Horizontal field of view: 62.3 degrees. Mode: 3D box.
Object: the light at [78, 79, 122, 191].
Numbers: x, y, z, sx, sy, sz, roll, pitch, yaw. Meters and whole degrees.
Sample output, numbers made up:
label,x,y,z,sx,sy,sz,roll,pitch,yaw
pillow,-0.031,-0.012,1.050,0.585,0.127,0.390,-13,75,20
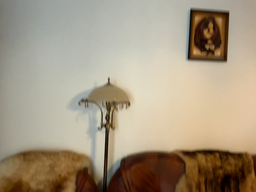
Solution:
label,x,y,z,sx,sy,sz,roll,pitch,yaw
light,-0.260,0.700,1.860,0.300,1.670,0.420,2,2,-8
